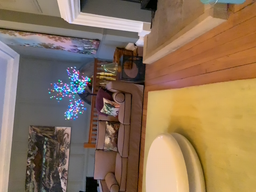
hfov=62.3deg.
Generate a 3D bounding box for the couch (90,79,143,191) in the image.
[{"bbox_3d":[-0.300,0.930,4.560,1.130,0.800,2.420,171,103,-78],"label":"couch"}]

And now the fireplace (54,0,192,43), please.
[{"bbox_3d":[-0.130,-1.580,2.840,2.130,1.550,0.930,167,107,-77],"label":"fireplace"}]
